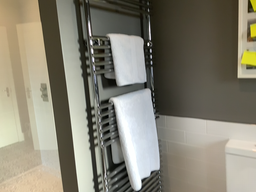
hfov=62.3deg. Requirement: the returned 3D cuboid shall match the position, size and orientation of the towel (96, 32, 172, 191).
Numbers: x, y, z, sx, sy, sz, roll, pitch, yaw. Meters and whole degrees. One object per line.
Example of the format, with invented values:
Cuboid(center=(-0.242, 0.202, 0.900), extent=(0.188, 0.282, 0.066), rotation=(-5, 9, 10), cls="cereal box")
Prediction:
Cuboid(center=(0.080, 0.100, 1.320), extent=(0.170, 0.920, 0.490), rotation=(3, 12, 35), cls="towel")
